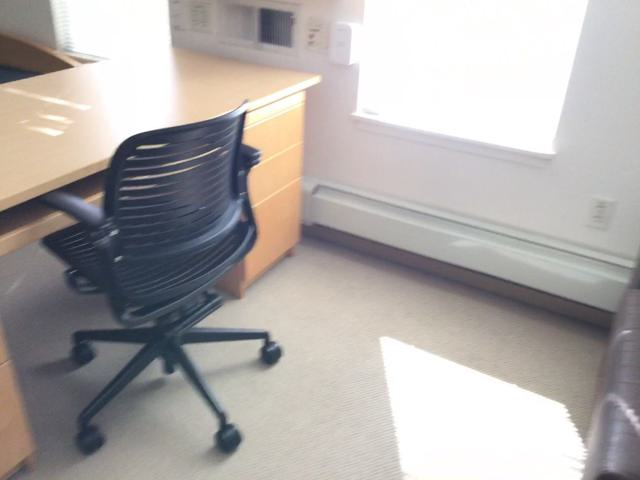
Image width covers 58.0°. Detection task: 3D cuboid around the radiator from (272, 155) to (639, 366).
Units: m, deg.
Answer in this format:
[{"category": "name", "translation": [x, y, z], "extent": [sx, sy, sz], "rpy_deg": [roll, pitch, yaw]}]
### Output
[{"category": "radiator", "translation": [0.460, 0.030, 2.250], "extent": [1.410, 0.350, 0.180], "rpy_deg": [19, 30, 23]}]
